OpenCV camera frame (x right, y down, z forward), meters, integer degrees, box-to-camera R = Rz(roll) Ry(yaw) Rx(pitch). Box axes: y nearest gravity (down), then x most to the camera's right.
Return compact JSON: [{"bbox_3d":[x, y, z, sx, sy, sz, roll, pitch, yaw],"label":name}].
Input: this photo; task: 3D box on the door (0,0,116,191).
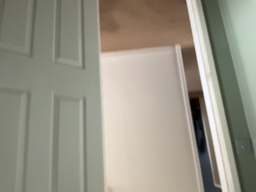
[{"bbox_3d":[-0.480,-0.060,1.260,0.810,2.080,0.120,9,159,-39],"label":"door"}]
